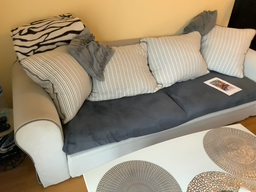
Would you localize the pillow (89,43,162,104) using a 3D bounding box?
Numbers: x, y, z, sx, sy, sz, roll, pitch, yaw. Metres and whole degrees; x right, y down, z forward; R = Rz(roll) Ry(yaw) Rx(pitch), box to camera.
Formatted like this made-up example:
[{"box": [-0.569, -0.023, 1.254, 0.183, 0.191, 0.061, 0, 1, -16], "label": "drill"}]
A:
[{"box": [-0.030, -0.220, 1.890, 0.550, 0.370, 0.290, -13, 36, -24], "label": "pillow"}]

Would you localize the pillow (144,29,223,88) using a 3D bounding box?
[{"box": [0.550, -0.400, 2.150, 0.650, 0.400, 0.340, -15, 38, -26], "label": "pillow"}]

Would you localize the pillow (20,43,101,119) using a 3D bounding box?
[{"box": [-0.480, -0.120, 1.570, 0.470, 0.420, 0.250, -14, 47, -26], "label": "pillow"}]
